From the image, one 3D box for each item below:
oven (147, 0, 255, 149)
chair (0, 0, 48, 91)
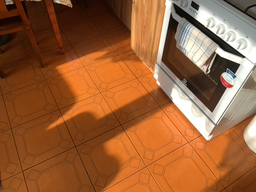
[{"bbox_3d":[0.590,-0.190,1.400,0.640,0.790,0.580,-20,56,-18],"label":"oven"},{"bbox_3d":[-0.940,-0.550,1.520,0.360,0.900,0.480,-24,57,-20],"label":"chair"}]
